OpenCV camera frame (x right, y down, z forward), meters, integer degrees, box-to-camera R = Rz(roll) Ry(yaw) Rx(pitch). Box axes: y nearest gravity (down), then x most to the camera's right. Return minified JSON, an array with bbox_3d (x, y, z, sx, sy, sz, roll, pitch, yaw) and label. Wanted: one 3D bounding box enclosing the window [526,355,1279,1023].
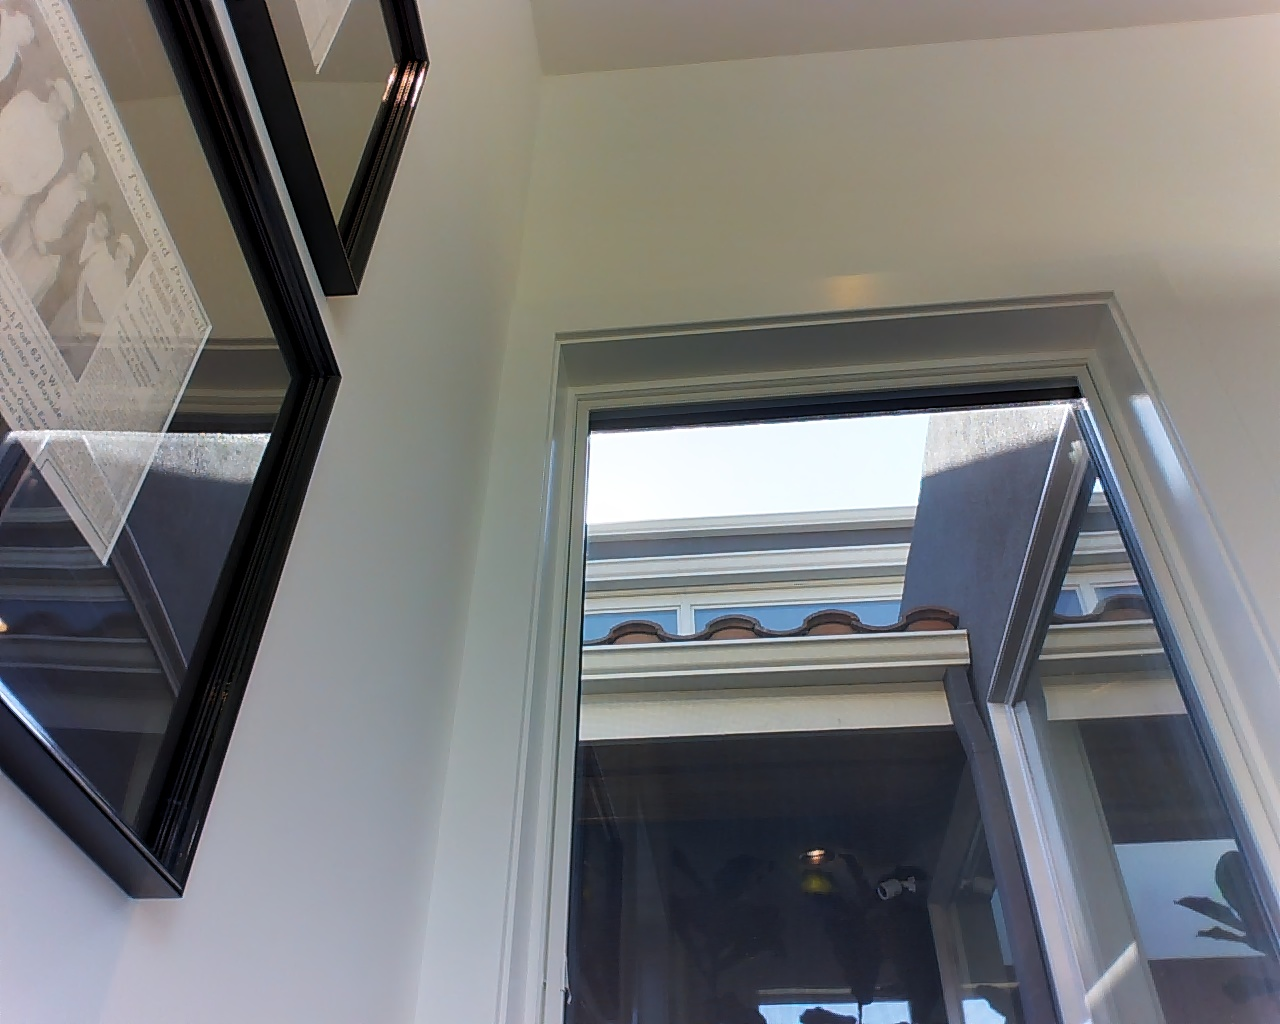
[{"bbox_3d":[0.300,0.460,1.240,0.840,1.780,0.080,-3,-41,4],"label":"window"}]
